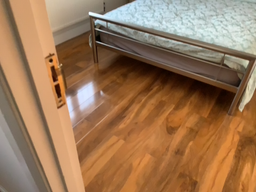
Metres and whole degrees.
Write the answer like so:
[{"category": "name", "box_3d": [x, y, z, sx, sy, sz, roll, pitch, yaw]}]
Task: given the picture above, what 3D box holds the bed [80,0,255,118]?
[{"category": "bed", "box_3d": [0.800, -0.880, 2.670, 1.660, 0.550, 2.170, 23, 43, 24]}]
